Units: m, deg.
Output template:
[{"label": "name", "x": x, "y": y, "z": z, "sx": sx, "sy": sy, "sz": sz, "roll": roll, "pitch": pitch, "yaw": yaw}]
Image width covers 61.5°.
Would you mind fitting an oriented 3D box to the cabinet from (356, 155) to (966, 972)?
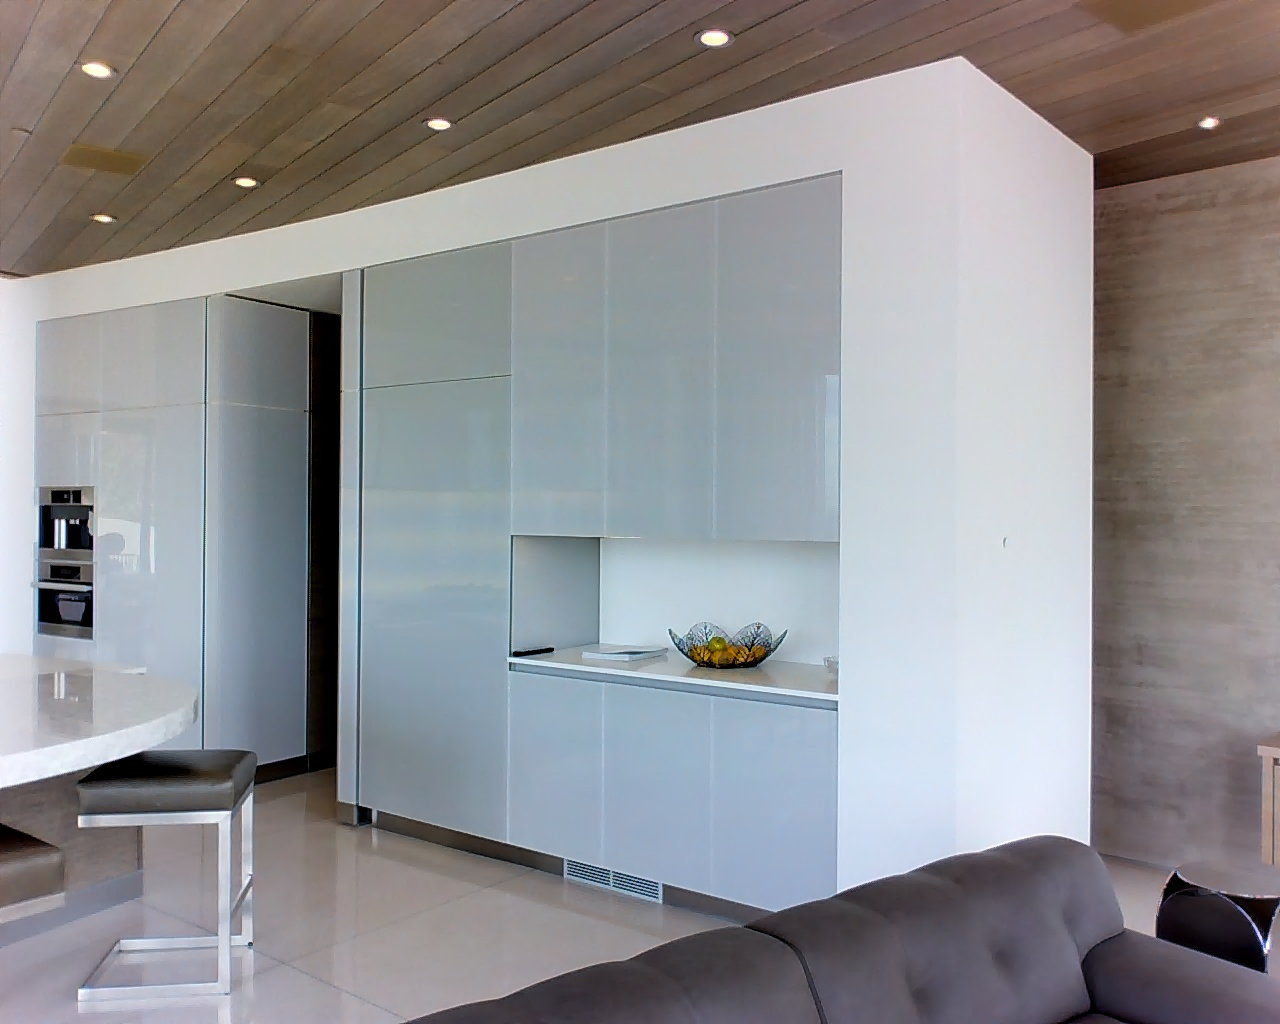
[{"label": "cabinet", "x": -0.070, "y": 0.170, "z": 4.750, "sx": 2.820, "sy": 2.770, "sz": 0.650, "roll": 0, "pitch": 0, "yaw": 37}]
